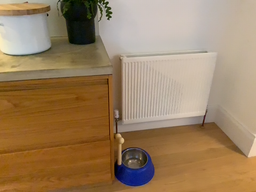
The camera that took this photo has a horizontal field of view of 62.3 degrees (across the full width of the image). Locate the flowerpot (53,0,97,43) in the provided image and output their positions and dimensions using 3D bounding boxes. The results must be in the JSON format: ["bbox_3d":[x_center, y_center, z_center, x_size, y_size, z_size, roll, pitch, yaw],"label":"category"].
[{"bbox_3d":[-0.330,-0.520,1.360,0.230,0.280,0.260,-4,30,-10],"label":"flowerpot"}]
